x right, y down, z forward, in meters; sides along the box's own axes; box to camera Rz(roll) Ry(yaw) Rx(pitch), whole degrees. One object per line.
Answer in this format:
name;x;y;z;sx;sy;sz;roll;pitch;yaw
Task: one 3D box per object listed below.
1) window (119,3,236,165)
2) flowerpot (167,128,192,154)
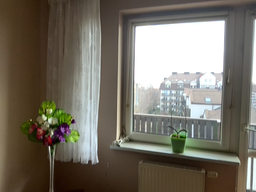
window;0.470;-0.120;2.230;1.100;1.520;0.180;2;3;17
flowerpot;0.520;0.440;2.120;0.200;0.190;0.220;3;4;24
